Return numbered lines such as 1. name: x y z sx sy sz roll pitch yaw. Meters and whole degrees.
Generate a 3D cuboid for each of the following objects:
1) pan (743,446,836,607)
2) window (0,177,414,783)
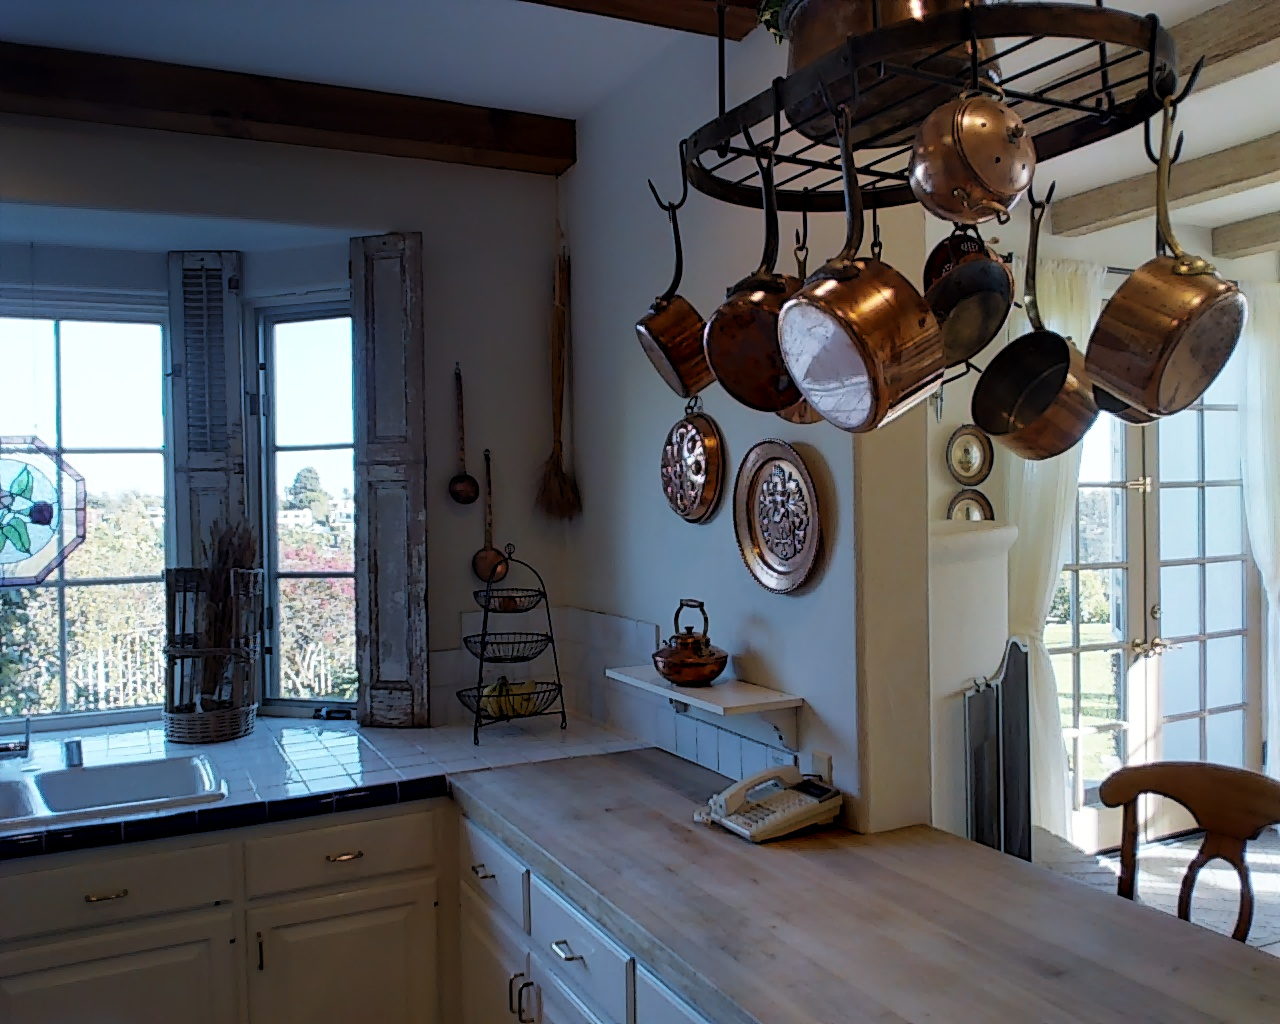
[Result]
1. pan: 0.330 0.030 2.410 0.030 0.340 0.320 -1 1 -26
2. window: -1.840 -0.080 3.030 2.210 1.540 0.730 -1 1 -26
